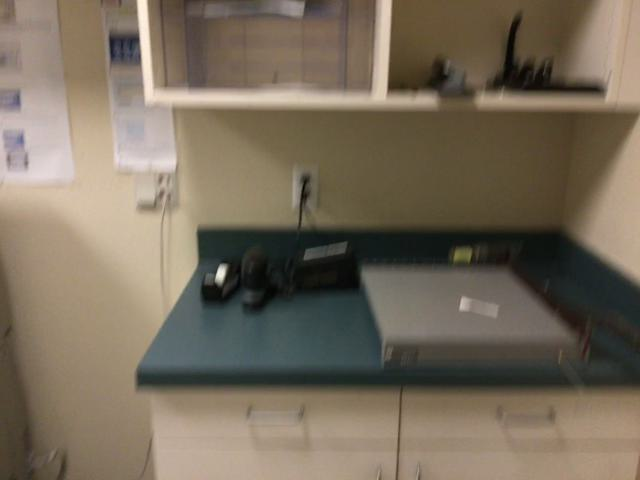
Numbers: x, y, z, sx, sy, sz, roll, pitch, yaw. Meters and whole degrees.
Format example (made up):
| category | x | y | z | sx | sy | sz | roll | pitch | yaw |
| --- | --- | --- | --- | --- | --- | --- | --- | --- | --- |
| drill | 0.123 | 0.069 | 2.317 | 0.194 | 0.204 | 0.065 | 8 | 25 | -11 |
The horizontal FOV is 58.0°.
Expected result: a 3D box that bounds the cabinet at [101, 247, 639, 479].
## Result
| category | x | y | z | sx | sy | sz | roll | pitch | yaw |
| --- | --- | --- | --- | --- | --- | --- | --- | --- | --- |
| cabinet | 0.160 | 0.550 | 1.410 | 1.030 | 0.920 | 0.780 | 0 | 12 | 0 |
